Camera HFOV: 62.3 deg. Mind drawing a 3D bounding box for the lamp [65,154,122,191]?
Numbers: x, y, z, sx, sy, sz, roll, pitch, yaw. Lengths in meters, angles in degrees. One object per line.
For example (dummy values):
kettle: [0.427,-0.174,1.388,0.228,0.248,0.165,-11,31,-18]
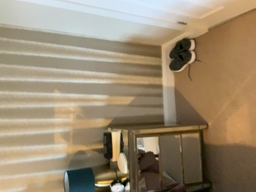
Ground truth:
lamp: [-0.240,0.540,1.440,0.240,0.320,0.210,-8,82,63]
